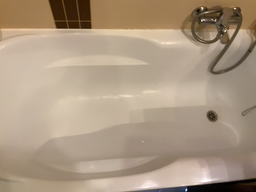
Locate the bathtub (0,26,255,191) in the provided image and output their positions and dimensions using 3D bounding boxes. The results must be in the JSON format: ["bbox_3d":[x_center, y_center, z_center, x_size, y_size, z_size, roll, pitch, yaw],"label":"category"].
[{"bbox_3d":[0.050,0.130,1.100,1.360,0.620,0.670,-2,69,-9],"label":"bathtub"}]
